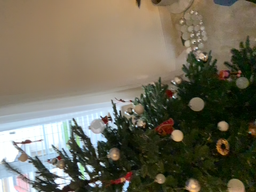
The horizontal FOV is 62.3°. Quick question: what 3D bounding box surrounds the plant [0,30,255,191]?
[{"bbox_3d":[0.100,0.370,1.180,1.110,1.850,1.000,151,110,-65],"label":"plant"}]
